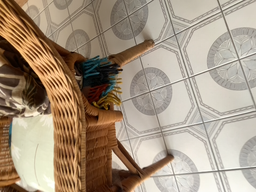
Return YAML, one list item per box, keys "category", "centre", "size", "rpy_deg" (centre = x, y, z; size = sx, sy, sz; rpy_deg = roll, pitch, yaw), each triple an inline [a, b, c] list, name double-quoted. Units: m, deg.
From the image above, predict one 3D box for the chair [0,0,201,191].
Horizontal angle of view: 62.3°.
- category: "chair"
  centre: [-0.220, 0.010, 0.780]
  size: [0.690, 0.800, 0.770]
  rpy_deg: [6, 96, 34]
